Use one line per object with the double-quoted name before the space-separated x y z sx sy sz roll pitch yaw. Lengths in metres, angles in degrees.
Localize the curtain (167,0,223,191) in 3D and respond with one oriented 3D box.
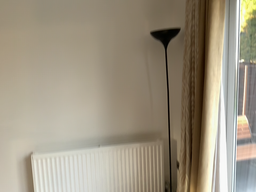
"curtain" 0.480 0.160 1.620 0.190 2.320 0.460 -3 7 -11
